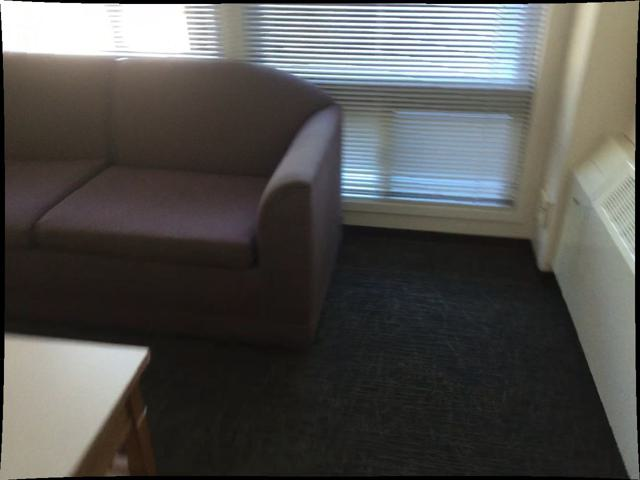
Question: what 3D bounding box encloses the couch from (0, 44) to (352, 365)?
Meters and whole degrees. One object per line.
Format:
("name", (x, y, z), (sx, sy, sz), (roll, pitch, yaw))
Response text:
("couch", (-0.809, -0.220, 2.190), (1.767, 0.791, 0.920), (4, 30, 6))
